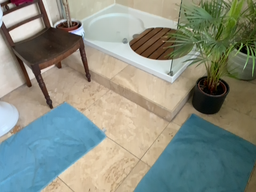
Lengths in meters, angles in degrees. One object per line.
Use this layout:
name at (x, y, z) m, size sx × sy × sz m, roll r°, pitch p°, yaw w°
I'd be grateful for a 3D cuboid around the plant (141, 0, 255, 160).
plant at (0.620, -0.280, 1.390) m, size 0.820 × 0.960 × 0.620 m, roll 32°, pitch 54°, yaw 28°
